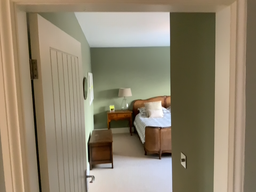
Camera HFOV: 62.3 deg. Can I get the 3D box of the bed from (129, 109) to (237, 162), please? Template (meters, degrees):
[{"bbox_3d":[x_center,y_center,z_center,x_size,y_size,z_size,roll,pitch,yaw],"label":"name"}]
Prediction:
[{"bbox_3d":[1.150,0.860,5.370,1.950,0.600,2.180,-2,6,-8],"label":"bed"}]
